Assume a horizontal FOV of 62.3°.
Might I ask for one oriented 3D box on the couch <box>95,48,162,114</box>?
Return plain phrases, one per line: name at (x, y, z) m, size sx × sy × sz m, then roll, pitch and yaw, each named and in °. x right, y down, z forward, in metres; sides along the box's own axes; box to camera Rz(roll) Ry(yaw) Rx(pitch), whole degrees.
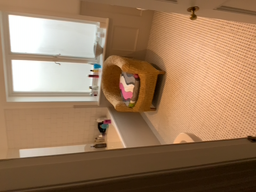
couch at (-0.050, -0.250, 3.410) m, size 0.760 × 0.750 × 0.780 m, roll -125°, pitch 40°, yaw -56°
